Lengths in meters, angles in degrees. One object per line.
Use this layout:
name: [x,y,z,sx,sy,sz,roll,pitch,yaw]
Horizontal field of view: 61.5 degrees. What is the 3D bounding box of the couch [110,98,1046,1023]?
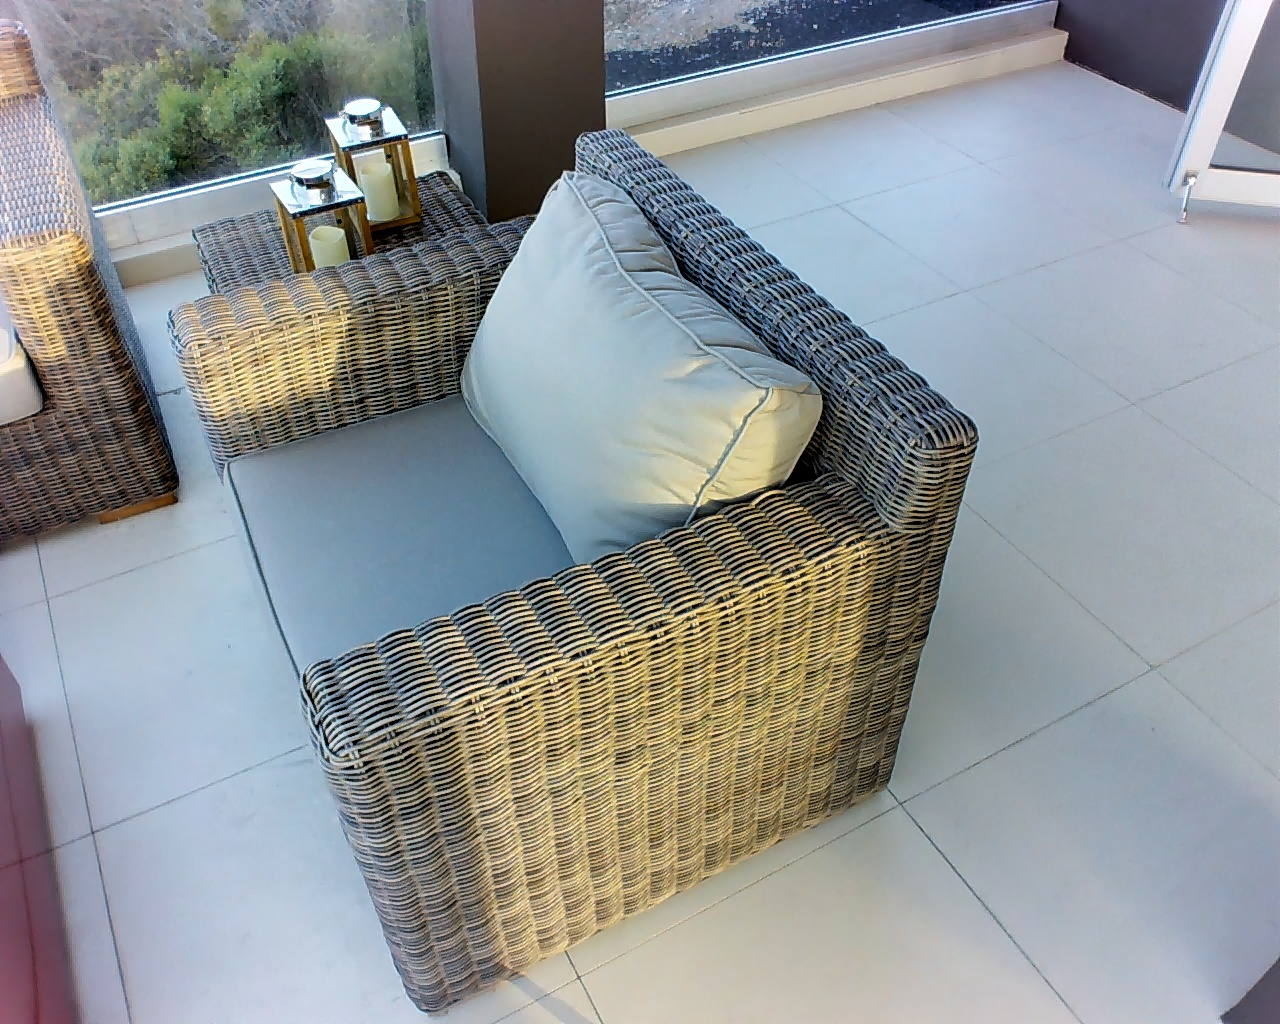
couch: [-0.170,0.010,1.710,0.880,0.810,1.070,-19,46,-20]
